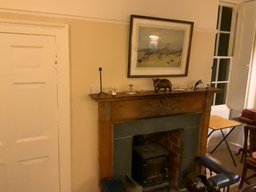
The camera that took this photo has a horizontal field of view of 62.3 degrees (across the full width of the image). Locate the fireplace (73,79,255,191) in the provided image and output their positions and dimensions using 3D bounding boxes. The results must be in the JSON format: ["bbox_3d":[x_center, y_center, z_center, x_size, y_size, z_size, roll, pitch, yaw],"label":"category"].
[{"bbox_3d":[0.320,0.560,2.620,1.650,1.340,1.390,-4,13,-27],"label":"fireplace"}]
